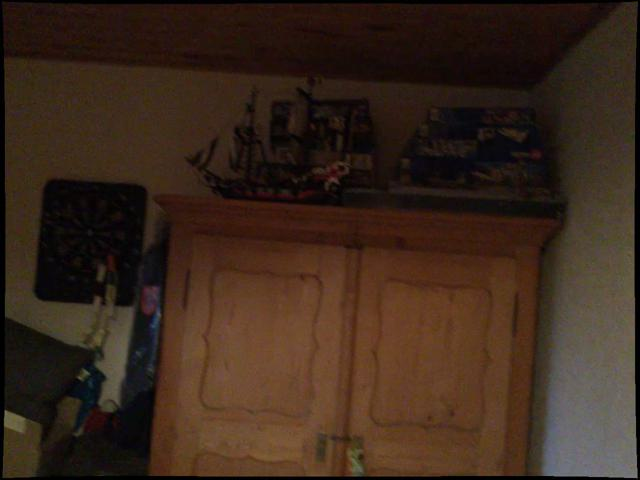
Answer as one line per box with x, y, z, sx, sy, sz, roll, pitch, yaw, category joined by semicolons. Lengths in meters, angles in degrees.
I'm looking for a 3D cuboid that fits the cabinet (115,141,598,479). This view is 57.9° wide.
0.080;0.721;2.190;1.439;1.972;0.720;5;1;2;cabinet

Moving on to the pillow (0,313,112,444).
-1.219;0.531;2.320;0.599;0.390;0.370;5;1;2;pillow

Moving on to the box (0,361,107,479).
-1.159;0.751;2.320;0.440;0.410;0.370;5;1;2;box
